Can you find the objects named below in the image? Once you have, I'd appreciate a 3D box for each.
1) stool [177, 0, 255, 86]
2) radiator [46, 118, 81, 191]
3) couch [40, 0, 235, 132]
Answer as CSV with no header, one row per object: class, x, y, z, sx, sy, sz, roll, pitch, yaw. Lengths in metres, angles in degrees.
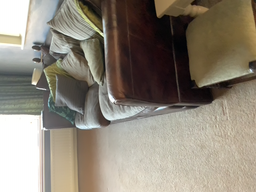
stool,0.510,-0.260,1.050,0.370,0.330,0.350,-16,75,60
radiator,-1.140,1.400,3.760,0.130,0.540,1.980,-26,67,58
couch,-0.280,-0.270,2.000,2.100,0.780,1.060,-21,70,59
